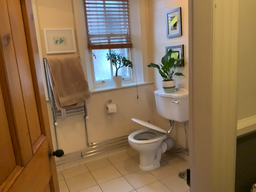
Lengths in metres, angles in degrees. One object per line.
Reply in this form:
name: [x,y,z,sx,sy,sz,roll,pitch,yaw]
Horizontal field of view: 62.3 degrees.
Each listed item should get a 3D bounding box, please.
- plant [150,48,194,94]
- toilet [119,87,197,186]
plant: [0.500,-0.300,2.470,0.250,0.470,0.460,-11,13,-27]
toilet: [0.360,0.410,2.490,0.720,0.900,0.480,-11,13,-27]
